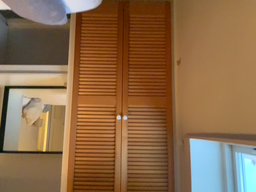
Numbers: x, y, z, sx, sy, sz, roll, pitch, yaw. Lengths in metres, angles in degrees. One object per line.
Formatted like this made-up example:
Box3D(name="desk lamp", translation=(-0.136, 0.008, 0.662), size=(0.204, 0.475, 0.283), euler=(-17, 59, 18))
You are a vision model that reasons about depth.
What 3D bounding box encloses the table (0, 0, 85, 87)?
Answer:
Box3D(name="table", translation=(-0.900, -0.520, 1.980), size=(0.860, 0.770, 0.510), euler=(1, 171, 0))
